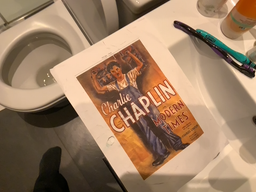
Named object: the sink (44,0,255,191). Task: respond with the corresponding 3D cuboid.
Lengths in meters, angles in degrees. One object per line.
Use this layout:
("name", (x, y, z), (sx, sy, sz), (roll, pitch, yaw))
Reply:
("sink", (0.200, 0.110, 0.450), (0.410, 0.150, 0.650), (-34, 84, -12))
